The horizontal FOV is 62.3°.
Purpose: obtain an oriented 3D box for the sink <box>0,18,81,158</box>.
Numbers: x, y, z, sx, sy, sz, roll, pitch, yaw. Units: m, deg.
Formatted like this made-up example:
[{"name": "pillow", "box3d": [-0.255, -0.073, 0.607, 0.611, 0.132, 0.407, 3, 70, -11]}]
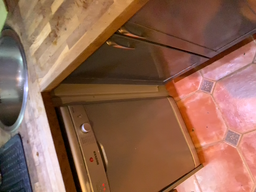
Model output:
[{"name": "sink", "box3d": [-0.500, -0.070, 1.010, 0.500, 0.190, 0.480, 30, 110, 36]}]
